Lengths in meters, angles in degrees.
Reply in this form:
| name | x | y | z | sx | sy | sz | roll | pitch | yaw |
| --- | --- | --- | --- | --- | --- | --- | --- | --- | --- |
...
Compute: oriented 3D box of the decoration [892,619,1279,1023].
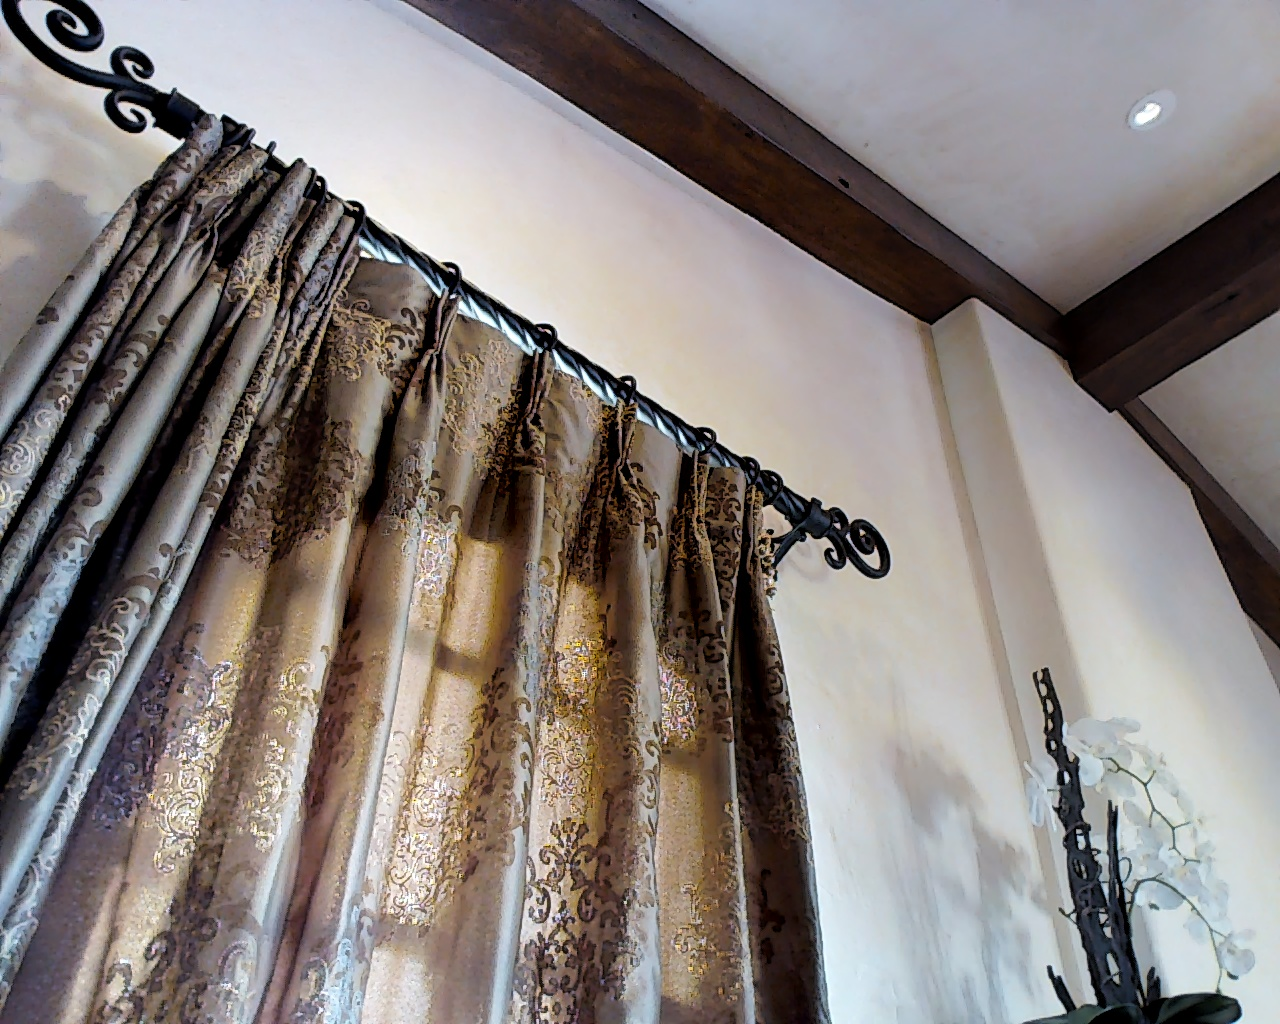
| name | x | y | z | sx | sy | sz | roll | pitch | yaw |
| --- | --- | --- | --- | --- | --- | --- | --- | --- | --- |
| decoration | 0.730 | 0.630 | 1.680 | 0.440 | 0.730 | 0.360 | 29 | -48 | -29 |
